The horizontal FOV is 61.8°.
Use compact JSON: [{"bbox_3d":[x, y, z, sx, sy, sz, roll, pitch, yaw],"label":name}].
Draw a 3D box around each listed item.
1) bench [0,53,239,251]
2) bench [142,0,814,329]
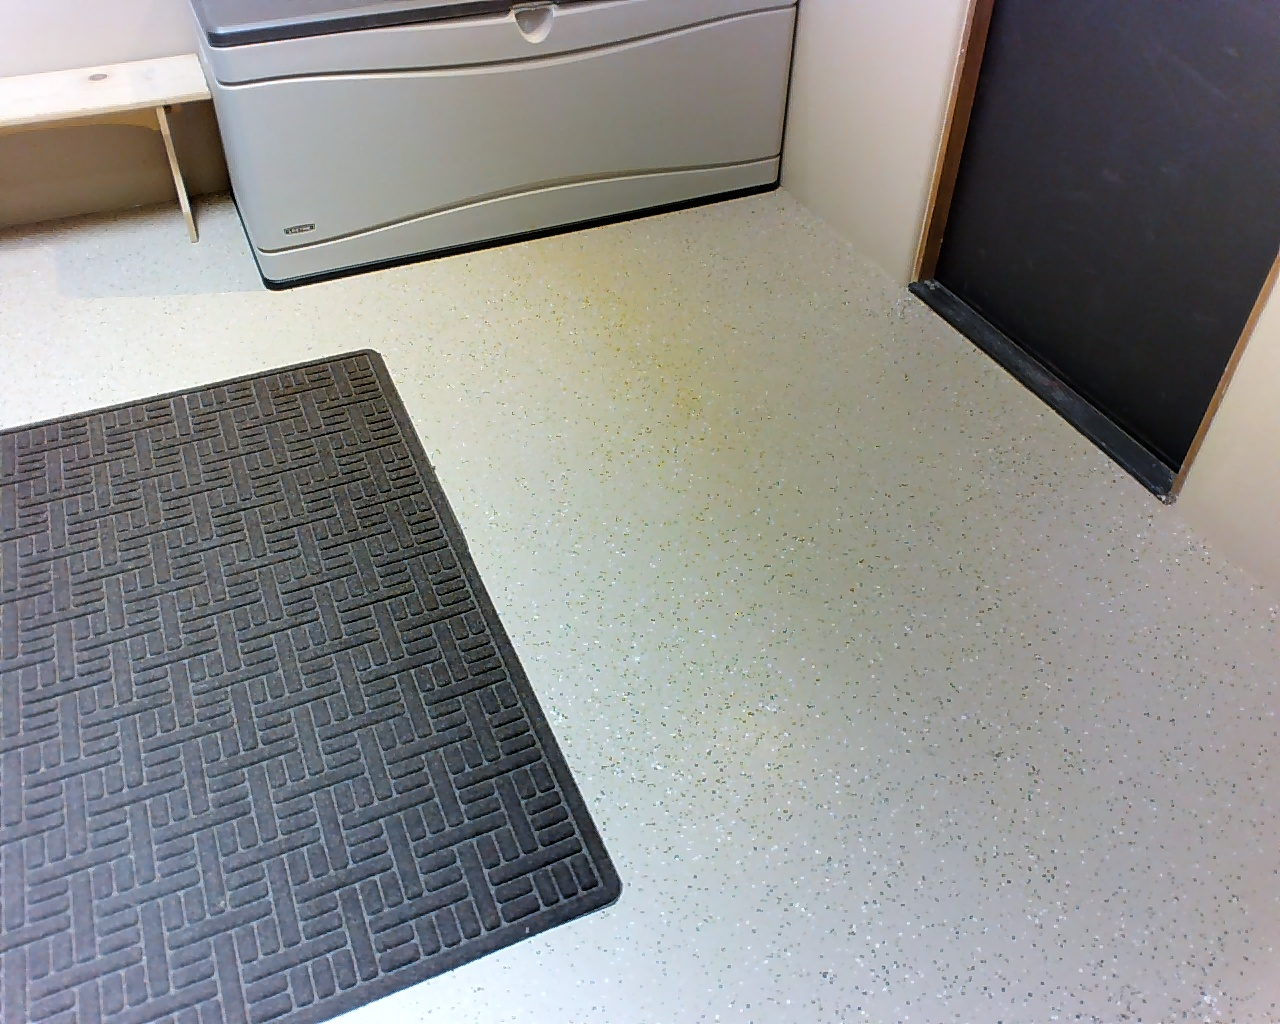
[{"bbox_3d":[-1.540,-0.910,2.750,0.870,0.310,0.310,-16,45,-18],"label":"bench"},{"bbox_3d":[-0.410,-1.140,2.910,1.580,0.690,0.680,-17,45,-19],"label":"bench"}]
